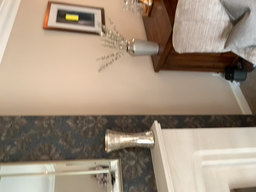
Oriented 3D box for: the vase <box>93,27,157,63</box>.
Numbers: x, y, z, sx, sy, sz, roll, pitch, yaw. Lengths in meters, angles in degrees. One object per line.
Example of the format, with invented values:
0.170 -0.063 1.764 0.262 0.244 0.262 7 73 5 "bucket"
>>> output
-0.040 -0.470 1.970 0.150 0.560 0.280 108 159 -54 "vase"
